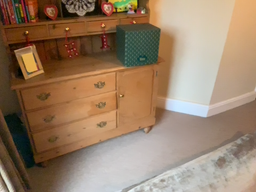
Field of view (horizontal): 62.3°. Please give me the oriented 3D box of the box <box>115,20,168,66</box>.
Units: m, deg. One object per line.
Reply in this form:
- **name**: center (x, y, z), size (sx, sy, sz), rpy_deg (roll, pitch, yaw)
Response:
- **box**: center (0.100, -0.450, 1.770), size (0.320, 0.270, 0.280), rpy_deg (-14, 35, -25)
